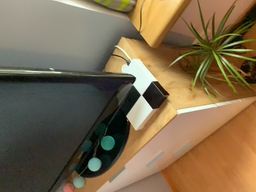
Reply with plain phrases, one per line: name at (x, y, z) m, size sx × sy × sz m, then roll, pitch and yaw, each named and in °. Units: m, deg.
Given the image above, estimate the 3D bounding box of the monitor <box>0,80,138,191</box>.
monitor at (-0.430, 0.290, 0.860) m, size 0.050 × 0.640 × 0.940 m, roll 58°, pitch 133°, yaw 29°
